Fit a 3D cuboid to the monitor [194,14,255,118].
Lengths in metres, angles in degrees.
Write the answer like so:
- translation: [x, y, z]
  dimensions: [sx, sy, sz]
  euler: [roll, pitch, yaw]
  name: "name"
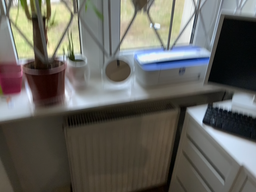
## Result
- translation: [0.580, -0.090, 0.880]
  dimensions: [0.510, 0.410, 0.040]
  euler: [15, 33, 19]
  name: "monitor"
